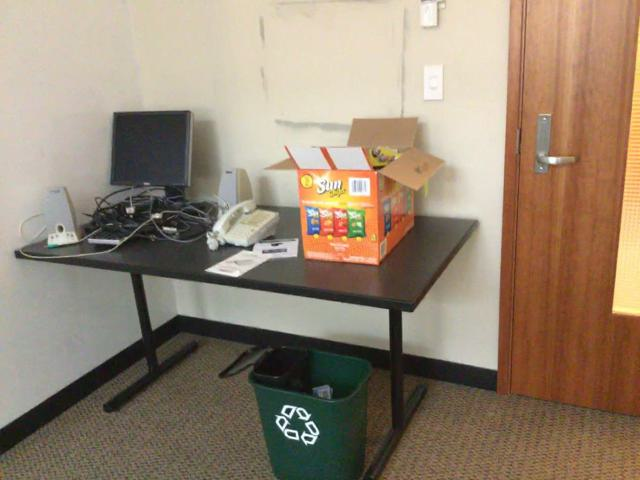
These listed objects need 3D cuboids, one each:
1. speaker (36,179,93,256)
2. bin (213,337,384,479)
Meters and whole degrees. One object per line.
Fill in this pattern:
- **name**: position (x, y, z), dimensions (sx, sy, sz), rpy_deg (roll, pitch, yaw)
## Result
- **speaker**: position (-0.940, -0.090, 2.140), dimensions (0.150, 0.220, 0.240), rpy_deg (-9, 17, -20)
- **bin**: position (-0.060, 0.590, 1.930), dimensions (0.470, 0.390, 0.280), rpy_deg (4, 17, 24)
